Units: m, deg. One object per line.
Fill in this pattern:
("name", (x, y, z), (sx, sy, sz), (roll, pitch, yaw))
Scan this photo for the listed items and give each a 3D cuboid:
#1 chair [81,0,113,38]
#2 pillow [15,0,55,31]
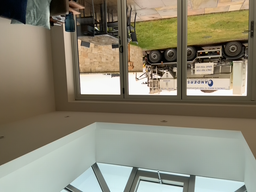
("chair", (-0.670, -1.710, 4.690), (0.490, 0.750, 0.500), (2, -173, 20))
("pillow", (-1.330, -1.250, 3.030), (0.220, 0.520, 0.360), (13, -143, 32))
